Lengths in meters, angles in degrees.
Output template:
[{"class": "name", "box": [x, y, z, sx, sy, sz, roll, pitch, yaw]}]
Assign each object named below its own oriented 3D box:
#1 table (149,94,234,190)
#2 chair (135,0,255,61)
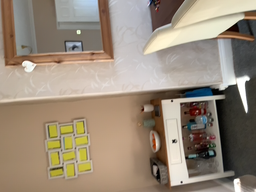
[{"class": "table", "box": [0.680, 0.460, 2.350, 0.370, 0.720, 0.890, 160, 105, -78]}, {"class": "chair", "box": [0.580, -0.640, 1.550, 0.420, 0.970, 0.640, 168, 97, -79]}]
